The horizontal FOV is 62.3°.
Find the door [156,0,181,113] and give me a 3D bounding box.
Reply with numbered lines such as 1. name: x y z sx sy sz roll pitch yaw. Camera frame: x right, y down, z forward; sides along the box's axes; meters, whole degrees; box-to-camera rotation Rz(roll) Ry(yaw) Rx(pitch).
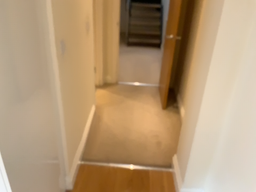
1. door: 0.550 -0.870 2.870 0.050 2.030 0.880 4 27 1
